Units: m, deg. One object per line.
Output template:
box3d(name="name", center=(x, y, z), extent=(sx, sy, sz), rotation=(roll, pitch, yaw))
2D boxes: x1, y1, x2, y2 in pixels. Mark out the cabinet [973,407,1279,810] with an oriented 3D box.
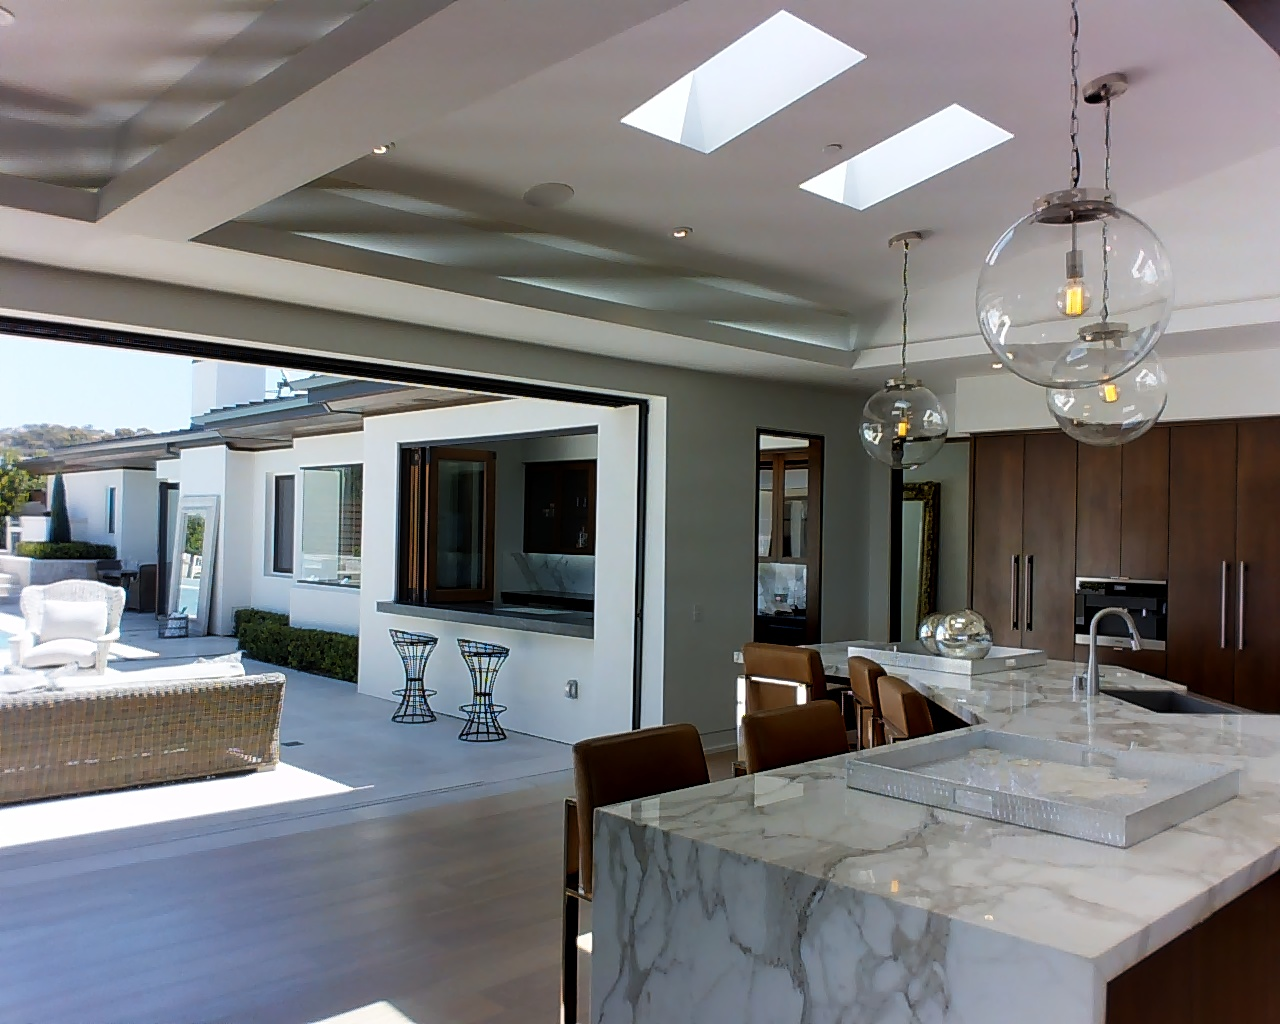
box3d(name="cabinet", center=(3.570, 0.580, 7.310), extent=(0.690, 2.430, 2.450), rotation=(2, -1, -43))
